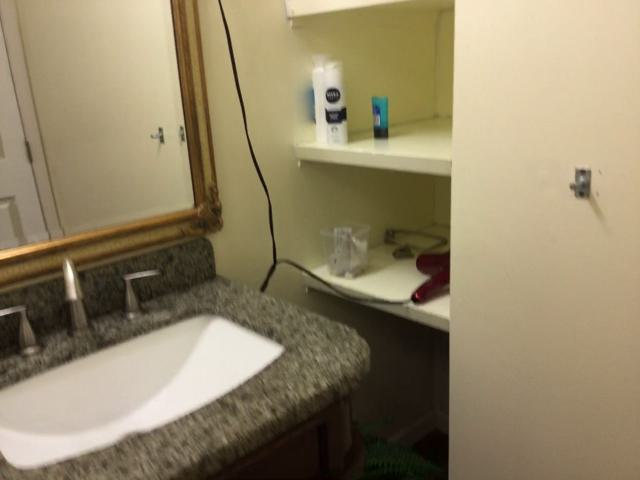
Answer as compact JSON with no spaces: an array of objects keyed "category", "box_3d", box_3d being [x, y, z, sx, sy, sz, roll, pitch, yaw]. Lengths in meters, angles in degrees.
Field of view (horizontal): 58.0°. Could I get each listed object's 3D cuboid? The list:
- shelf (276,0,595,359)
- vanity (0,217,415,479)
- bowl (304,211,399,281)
[{"category":"shelf","box_3d":[0.300,-0.400,1.460,0.630,1.130,0.490,-18,23,-42]},{"category":"vanity","box_3d":[-0.280,0.570,1.090,0.710,1.020,0.590,-18,23,-42]},{"category":"bowl","box_3d":[0.090,0.010,1.610,0.190,0.120,0.180,-18,23,-42]}]
